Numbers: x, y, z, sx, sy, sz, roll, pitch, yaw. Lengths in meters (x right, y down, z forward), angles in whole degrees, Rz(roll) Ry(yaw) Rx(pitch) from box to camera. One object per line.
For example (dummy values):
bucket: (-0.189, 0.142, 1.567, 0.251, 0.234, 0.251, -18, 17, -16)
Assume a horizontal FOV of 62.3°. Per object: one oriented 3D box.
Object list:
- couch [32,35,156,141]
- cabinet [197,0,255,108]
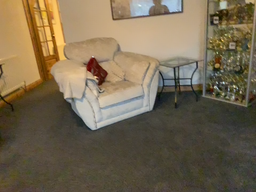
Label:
couch: (-0.430, -0.240, 2.850, 1.220, 0.970, 1.000, -17, 23, -30)
cabinet: (1.380, -0.810, 2.770, 0.760, 1.810, 0.620, -2, 20, 8)
